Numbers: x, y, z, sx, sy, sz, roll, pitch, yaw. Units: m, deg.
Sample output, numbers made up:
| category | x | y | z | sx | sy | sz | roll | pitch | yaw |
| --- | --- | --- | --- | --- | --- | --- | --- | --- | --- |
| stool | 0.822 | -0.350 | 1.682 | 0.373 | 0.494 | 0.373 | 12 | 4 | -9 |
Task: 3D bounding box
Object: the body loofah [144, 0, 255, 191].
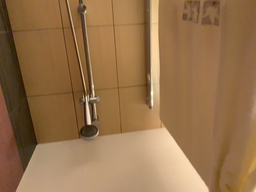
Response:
| category | x | y | z | sx | sy | sz | roll | pitch | yaw |
| --- | --- | --- | --- | --- | --- | --- | --- | --- | --- |
| body loofah | 0.190 | -0.080 | 0.670 | 0.160 | 0.590 | 0.640 | -5 | -160 | -5 |
